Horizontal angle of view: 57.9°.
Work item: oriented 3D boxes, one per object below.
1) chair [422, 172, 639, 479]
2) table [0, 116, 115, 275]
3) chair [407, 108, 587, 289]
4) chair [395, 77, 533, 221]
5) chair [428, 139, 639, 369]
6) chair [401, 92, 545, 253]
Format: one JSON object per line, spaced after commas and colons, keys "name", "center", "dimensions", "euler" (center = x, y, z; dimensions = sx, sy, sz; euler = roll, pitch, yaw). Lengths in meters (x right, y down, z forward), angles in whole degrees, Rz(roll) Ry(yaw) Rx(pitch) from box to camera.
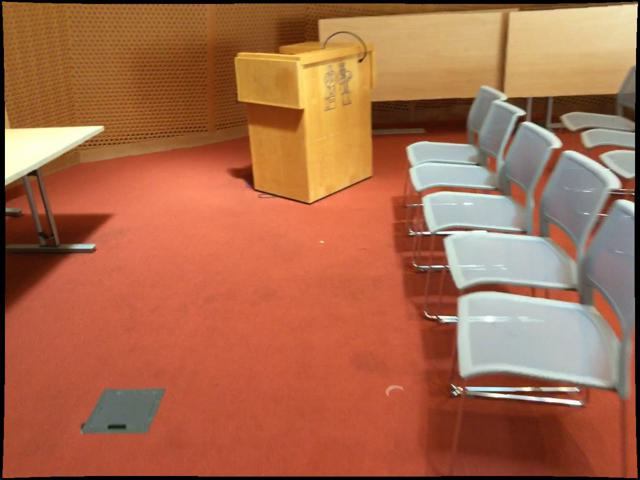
{"name": "chair", "center": [0.709, 0.230, 1.840], "dimensions": [0.609, 0.701, 0.700], "euler": [2, 23, 1]}
{"name": "table", "center": [-1.459, -0.280, 3.090], "dimensions": [0.330, 0.570, 0.930], "euler": [2, 23, 1]}
{"name": "chair", "center": [0.759, -0.220, 2.690], "dimensions": [0.579, 0.661, 0.620], "euler": [2, 23, 1]}
{"name": "chair", "center": [0.799, -0.561, 3.420], "dimensions": [0.599, 0.691, 0.650], "euler": [2, 23, 1]}
{"name": "chair", "center": [0.779, 0.030, 2.230], "dimensions": [0.579, 0.701, 0.560], "euler": [2, 23, 1]}
{"name": "chair", "center": [0.769, -0.370, 3.070], "dimensions": [0.569, 0.731, 0.470], "euler": [2, 23, 1]}
